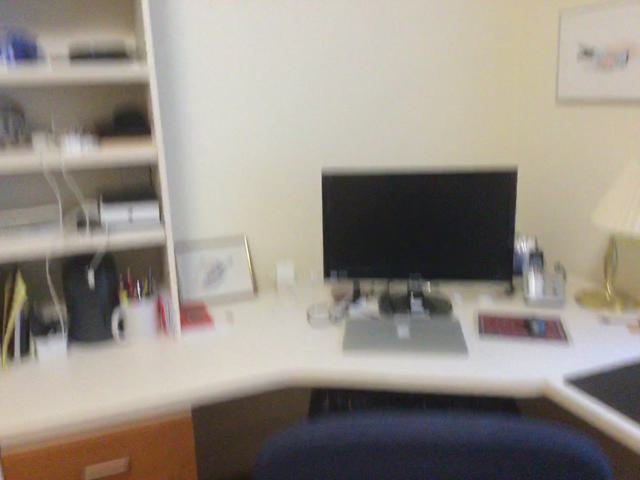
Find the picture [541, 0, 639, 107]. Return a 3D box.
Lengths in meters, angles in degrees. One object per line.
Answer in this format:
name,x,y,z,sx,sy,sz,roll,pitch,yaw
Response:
picture,0.860,-0.570,1.790,0.030,0.300,0.410,-7,16,-22

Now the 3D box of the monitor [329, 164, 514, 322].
monitor,0.290,0.000,1.720,0.500,0.430,0.170,1,15,10
